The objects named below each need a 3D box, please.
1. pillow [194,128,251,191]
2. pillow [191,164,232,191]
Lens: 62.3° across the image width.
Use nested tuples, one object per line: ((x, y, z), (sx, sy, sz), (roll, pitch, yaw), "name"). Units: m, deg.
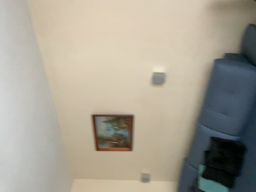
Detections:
((1.070, 0.760, 2.460), (0.200, 0.390, 0.690), (-39, -38, -45), "pillow")
((1.060, 1.220, 2.770), (0.200, 0.390, 0.520), (-41, -37, -46), "pillow")
